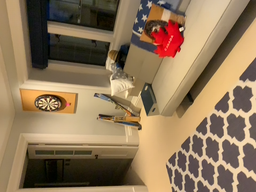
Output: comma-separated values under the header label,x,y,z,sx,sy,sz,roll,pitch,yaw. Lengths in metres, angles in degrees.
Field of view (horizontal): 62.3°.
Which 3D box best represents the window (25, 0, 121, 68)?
label,x,y,z,sx,sy,sz,roll,pitch,yaw
window,-0.650,-1.550,2.670,2.840,1.220,0.210,110,158,-45
